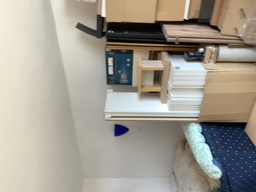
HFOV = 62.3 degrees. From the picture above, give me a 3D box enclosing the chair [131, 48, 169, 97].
[{"bbox_3d":[0.230,-0.290,2.480,0.520,0.360,0.390,-93,3,-59],"label":"chair"}]
